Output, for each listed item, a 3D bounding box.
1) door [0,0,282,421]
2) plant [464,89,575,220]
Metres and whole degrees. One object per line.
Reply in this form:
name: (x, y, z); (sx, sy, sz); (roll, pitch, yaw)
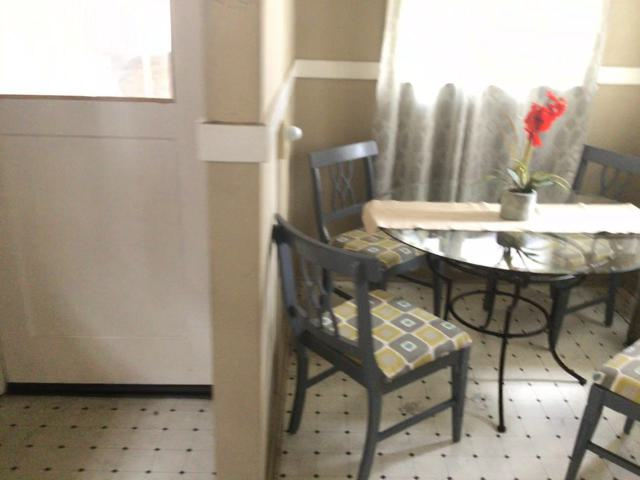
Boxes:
door: (-0.680, -0.430, 1.970); (1.070, 2.240, 0.280); (2, 20, 1)
plant: (0.750, -0.330, 2.220); (0.300, 0.460, 0.190); (2, 20, 1)
